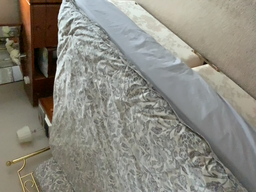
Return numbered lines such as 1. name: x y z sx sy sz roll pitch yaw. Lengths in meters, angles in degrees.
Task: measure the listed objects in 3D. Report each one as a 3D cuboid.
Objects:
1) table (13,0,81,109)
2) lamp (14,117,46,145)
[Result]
1. table: -1.180 -0.620 3.070 0.520 0.630 1.640 50 139 29
2. lamp: -1.340 0.480 2.910 0.210 0.340 0.190 49 138 30
